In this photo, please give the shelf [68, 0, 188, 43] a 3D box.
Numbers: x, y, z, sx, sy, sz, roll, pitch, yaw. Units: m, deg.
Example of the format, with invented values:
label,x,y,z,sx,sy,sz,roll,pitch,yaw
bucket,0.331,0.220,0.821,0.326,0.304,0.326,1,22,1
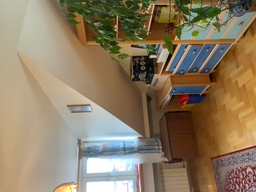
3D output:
label,x,y,z,sx,sy,sz,roll,pitch,yaw
shelf,-0.020,-0.940,2.340,0.600,1.120,0.420,101,167,-67
